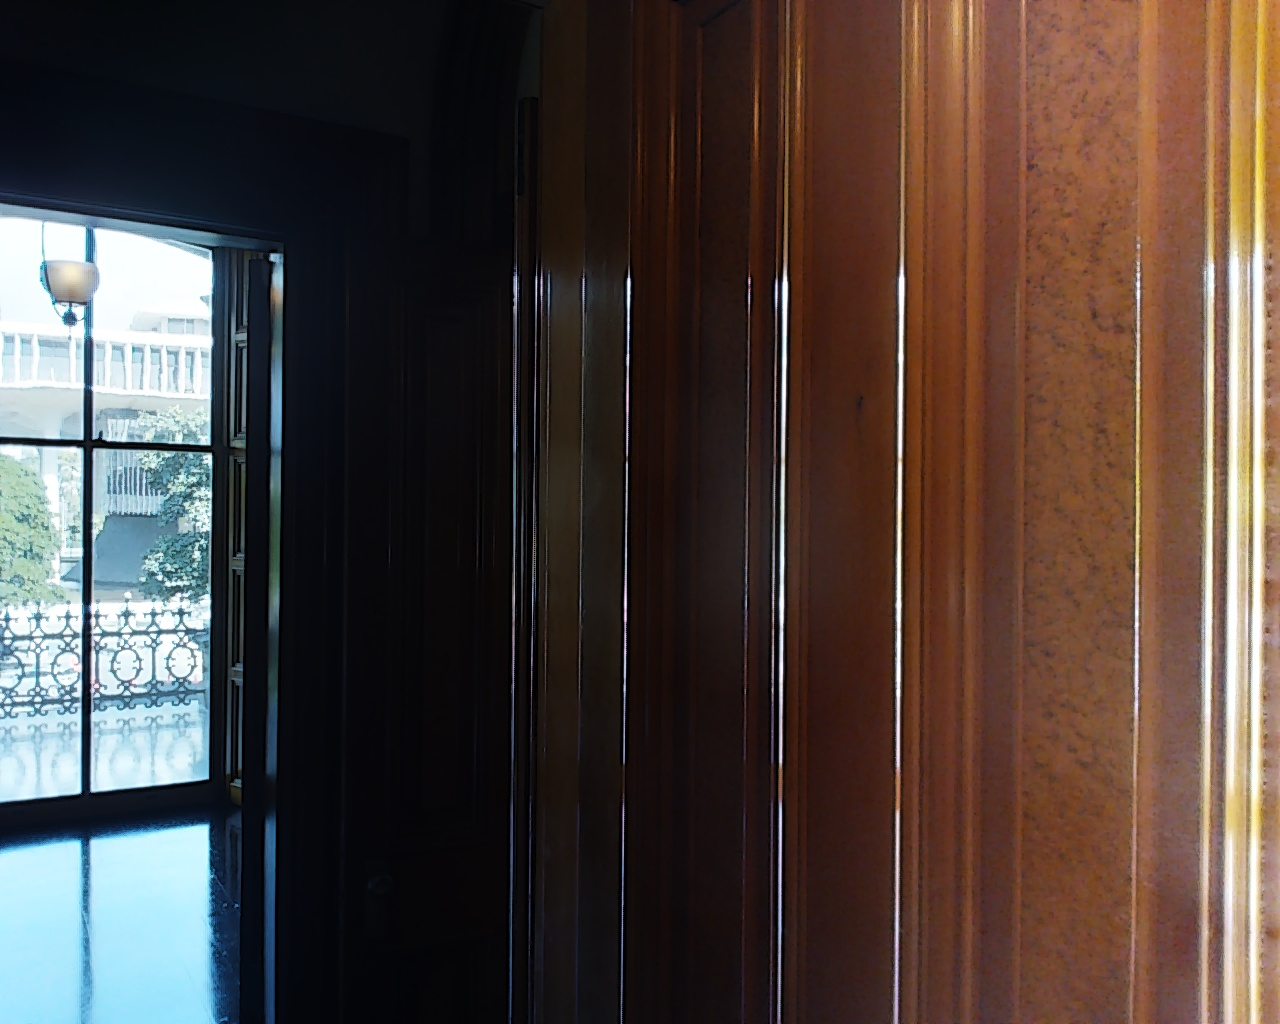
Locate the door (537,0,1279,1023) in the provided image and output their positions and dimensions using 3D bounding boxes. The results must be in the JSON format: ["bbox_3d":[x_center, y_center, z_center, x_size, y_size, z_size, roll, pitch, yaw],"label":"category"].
[{"bbox_3d":[0.170,0.390,0.810,0.070,2.280,0.980,1,1,-31],"label":"door"}]
